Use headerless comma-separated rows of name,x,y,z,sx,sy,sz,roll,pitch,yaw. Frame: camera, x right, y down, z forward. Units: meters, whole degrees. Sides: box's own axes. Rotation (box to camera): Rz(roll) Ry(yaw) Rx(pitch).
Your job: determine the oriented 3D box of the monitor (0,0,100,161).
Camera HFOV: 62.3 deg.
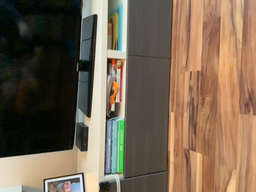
monitor,-0.460,-0.130,1.010,0.080,0.560,0.900,30,113,60
